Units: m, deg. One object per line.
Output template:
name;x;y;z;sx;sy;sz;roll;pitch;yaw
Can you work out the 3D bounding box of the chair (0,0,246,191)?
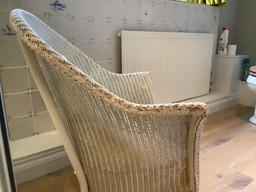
chair;-0.080;0.070;0.870;0.630;0.760;0.650;-3;15;-10
